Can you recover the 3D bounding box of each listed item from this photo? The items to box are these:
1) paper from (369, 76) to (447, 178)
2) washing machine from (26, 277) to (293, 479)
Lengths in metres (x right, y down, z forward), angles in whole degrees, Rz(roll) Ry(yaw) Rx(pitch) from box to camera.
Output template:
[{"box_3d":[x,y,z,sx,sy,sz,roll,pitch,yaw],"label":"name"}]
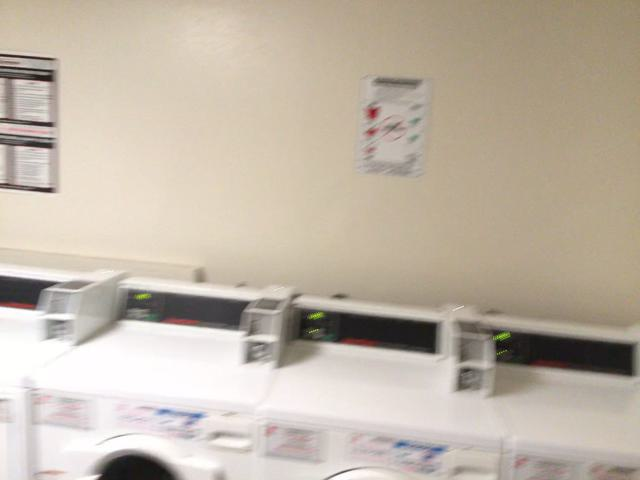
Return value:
[{"box_3d":[0.350,-0.450,2.310,0.280,0.390,0.030,4,6,5],"label":"paper"},{"box_3d":[-0.480,0.710,2.040,0.670,1.040,0.750,1,5,4],"label":"washing machine"}]
